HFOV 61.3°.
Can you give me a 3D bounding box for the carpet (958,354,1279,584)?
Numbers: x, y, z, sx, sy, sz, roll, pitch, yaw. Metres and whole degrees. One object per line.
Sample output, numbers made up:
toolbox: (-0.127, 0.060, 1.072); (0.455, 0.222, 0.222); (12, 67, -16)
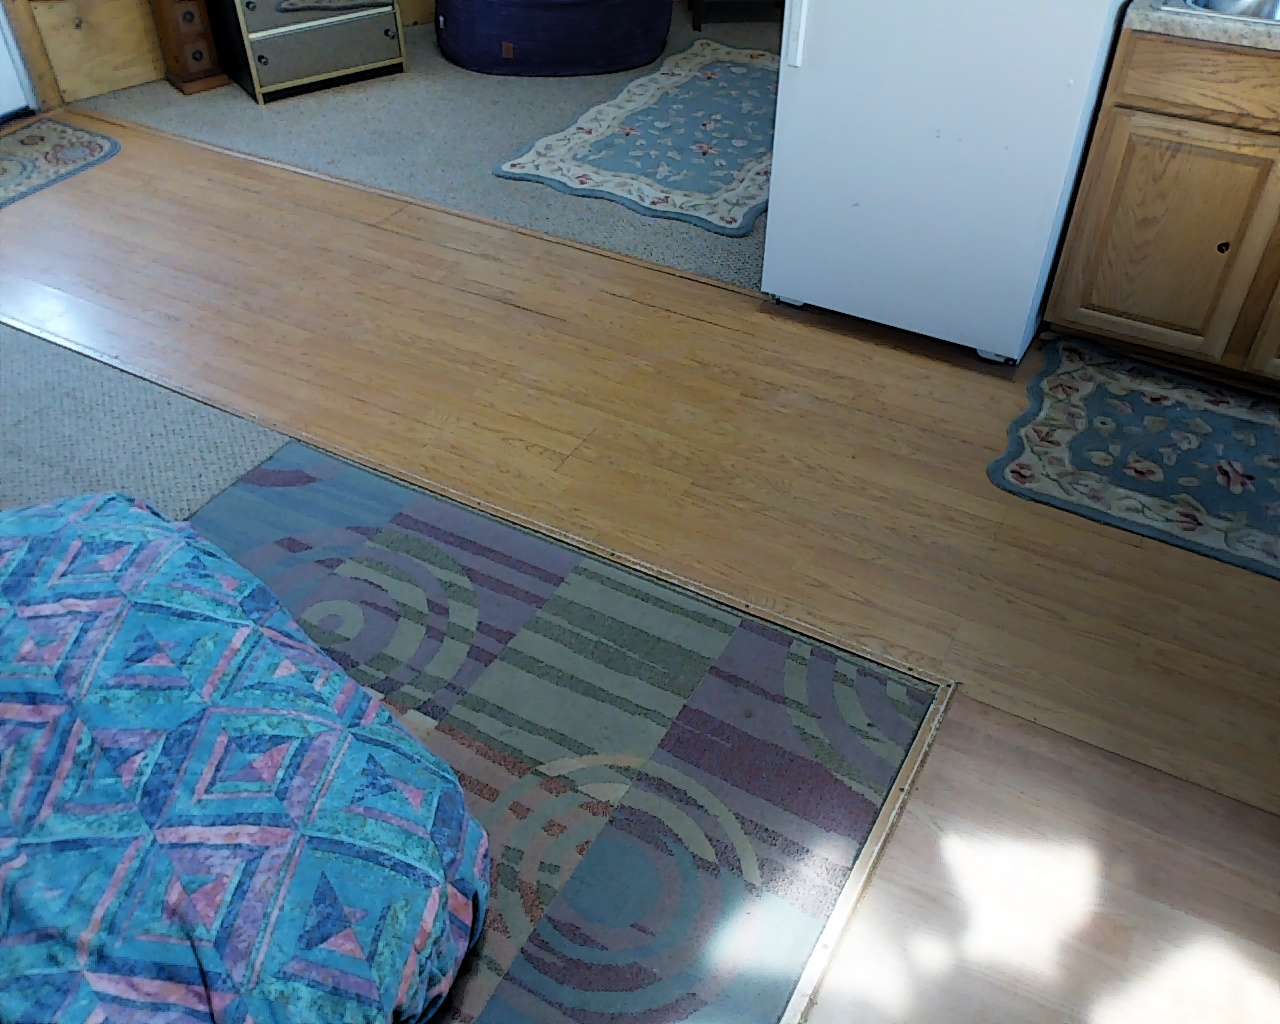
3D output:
carpet: (1.890, 0.130, 2.220); (2.340, 0.010, 0.590); (20, 45, 21)
